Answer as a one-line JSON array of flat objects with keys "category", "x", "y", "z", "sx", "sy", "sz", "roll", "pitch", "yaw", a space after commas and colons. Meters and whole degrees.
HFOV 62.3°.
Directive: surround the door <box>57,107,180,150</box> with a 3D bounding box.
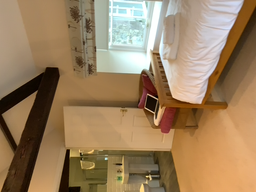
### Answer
[{"category": "door", "x": -0.170, "y": 0.610, "z": 3.790, "sx": 0.040, "sy": 2.090, "sz": 0.830, "roll": -99, "pitch": 13, "yaw": -63}]
